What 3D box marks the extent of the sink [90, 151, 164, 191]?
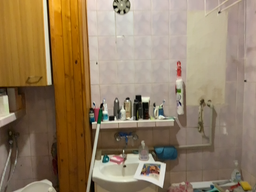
[{"bbox_3d":[-0.020,0.610,1.690,0.510,0.170,0.420,-1,6,-5],"label":"sink"}]
